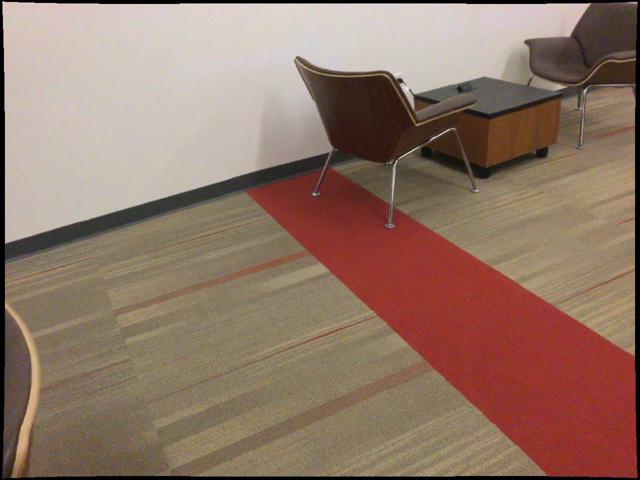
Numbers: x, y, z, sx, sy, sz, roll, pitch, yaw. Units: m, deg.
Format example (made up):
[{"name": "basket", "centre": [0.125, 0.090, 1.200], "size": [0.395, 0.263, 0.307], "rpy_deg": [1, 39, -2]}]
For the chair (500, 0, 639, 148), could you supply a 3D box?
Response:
[{"name": "chair", "centre": [1.845, -1.213, 3.900], "size": [0.779, 0.802, 0.860], "rpy_deg": [-18, 31, -20]}]

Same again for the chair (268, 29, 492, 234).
[{"name": "chair", "centre": [0.319, -0.642, 3.120], "size": [0.779, 0.761, 0.829], "rpy_deg": [-24, 34, -29]}]
